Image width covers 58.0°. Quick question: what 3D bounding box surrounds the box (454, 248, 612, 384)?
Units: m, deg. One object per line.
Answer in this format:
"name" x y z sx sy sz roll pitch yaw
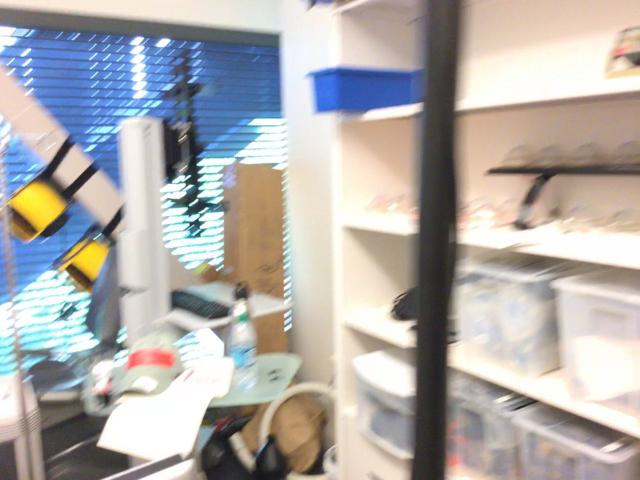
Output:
"box" 0.590 0.190 1.610 0.300 0.300 0.280 -5 4 -32

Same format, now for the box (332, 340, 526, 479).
"box" 0.350 0.620 1.940 0.390 0.420 0.500 -5 4 -32

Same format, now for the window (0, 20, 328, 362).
"window" -1.120 -0.250 2.940 2.410 1.490 0.410 -5 4 -32

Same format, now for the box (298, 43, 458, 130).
"box" 0.200 -0.500 1.950 0.500 0.180 0.230 0 2 -32

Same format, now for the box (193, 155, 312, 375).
"box" -0.340 0.100 2.920 0.440 1.020 0.330 -5 4 -32
